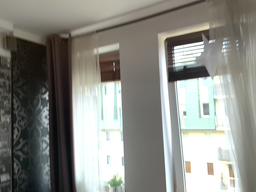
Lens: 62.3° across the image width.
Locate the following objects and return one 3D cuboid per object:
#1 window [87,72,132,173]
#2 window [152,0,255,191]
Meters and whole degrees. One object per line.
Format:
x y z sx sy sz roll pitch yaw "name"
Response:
-0.240 0.330 2.720 0.500 1.200 0.190 -4 -4 21 "window"
1.000 0.060 1.510 1.510 1.850 0.390 -4 -4 23 "window"
